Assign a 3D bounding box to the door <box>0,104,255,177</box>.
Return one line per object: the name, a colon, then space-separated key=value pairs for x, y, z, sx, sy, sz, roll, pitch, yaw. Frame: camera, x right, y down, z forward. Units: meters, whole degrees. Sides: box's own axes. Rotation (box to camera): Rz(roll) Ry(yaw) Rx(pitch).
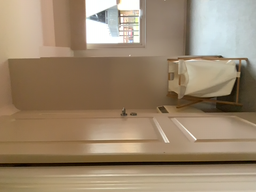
door: x=-0.050 y=0.190 z=1.270 sx=0.970 sy=2.070 sz=0.100 roll=-101 pitch=10 yaw=-84
